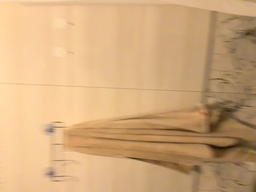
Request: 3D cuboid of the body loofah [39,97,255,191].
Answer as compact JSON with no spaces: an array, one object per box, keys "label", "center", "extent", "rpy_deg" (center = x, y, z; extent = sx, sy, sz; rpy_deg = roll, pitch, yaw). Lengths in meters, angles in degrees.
[{"label":"body loofah","center":[0.150,0.200,0.940],"extent":[0.210,0.980,0.330],"rpy_deg":[-140,53,-80]}]
